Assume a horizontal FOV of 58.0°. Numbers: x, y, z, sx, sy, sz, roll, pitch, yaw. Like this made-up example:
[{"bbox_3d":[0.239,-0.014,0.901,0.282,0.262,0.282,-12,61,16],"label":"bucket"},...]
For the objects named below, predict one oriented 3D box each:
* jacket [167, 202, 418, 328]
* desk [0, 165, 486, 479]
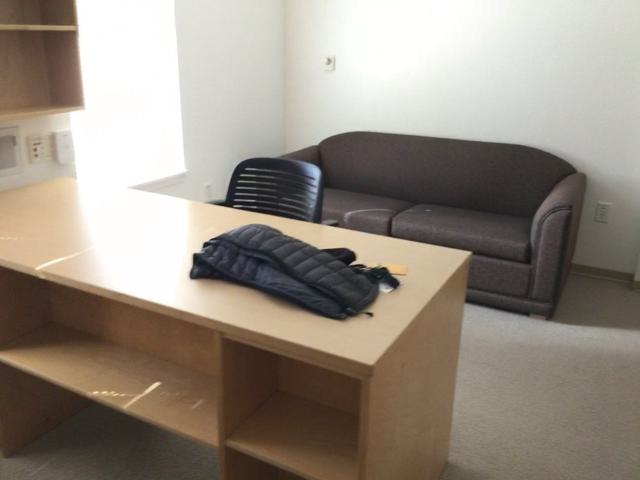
[{"bbox_3d":[-0.070,0.040,1.530,0.560,0.130,0.340,11,22,29],"label":"jacket"},{"bbox_3d":[-0.520,0.320,1.980,1.860,0.810,0.910,11,22,29],"label":"desk"}]
